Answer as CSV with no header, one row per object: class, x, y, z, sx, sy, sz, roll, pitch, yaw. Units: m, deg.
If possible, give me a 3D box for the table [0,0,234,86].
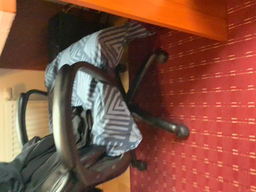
table,-0.260,-0.470,1.090,1.170,0.770,0.690,-8,84,54
